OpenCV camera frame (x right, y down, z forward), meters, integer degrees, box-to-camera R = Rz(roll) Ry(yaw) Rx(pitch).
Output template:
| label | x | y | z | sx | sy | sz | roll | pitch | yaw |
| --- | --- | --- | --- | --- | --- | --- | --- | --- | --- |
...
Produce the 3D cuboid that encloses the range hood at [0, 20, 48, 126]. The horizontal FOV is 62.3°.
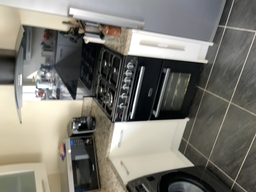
| label | x | y | z | sx | sy | sz | roll | pitch | yaw |
| --- | --- | --- | --- | --- | --- | --- | --- | --- | --- |
| range hood | -1.090 | -0.190 | 1.650 | 0.370 | 0.790 | 0.760 | 42 | 125 | 54 |
